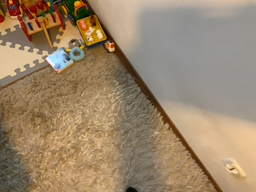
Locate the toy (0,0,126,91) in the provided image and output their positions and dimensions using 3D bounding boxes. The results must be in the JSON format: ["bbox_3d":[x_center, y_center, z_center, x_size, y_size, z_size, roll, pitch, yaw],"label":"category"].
[{"bbox_3d":[-0.540,-0.680,1.190,0.600,0.570,1.020,-28,76,-13],"label":"toy"}]
